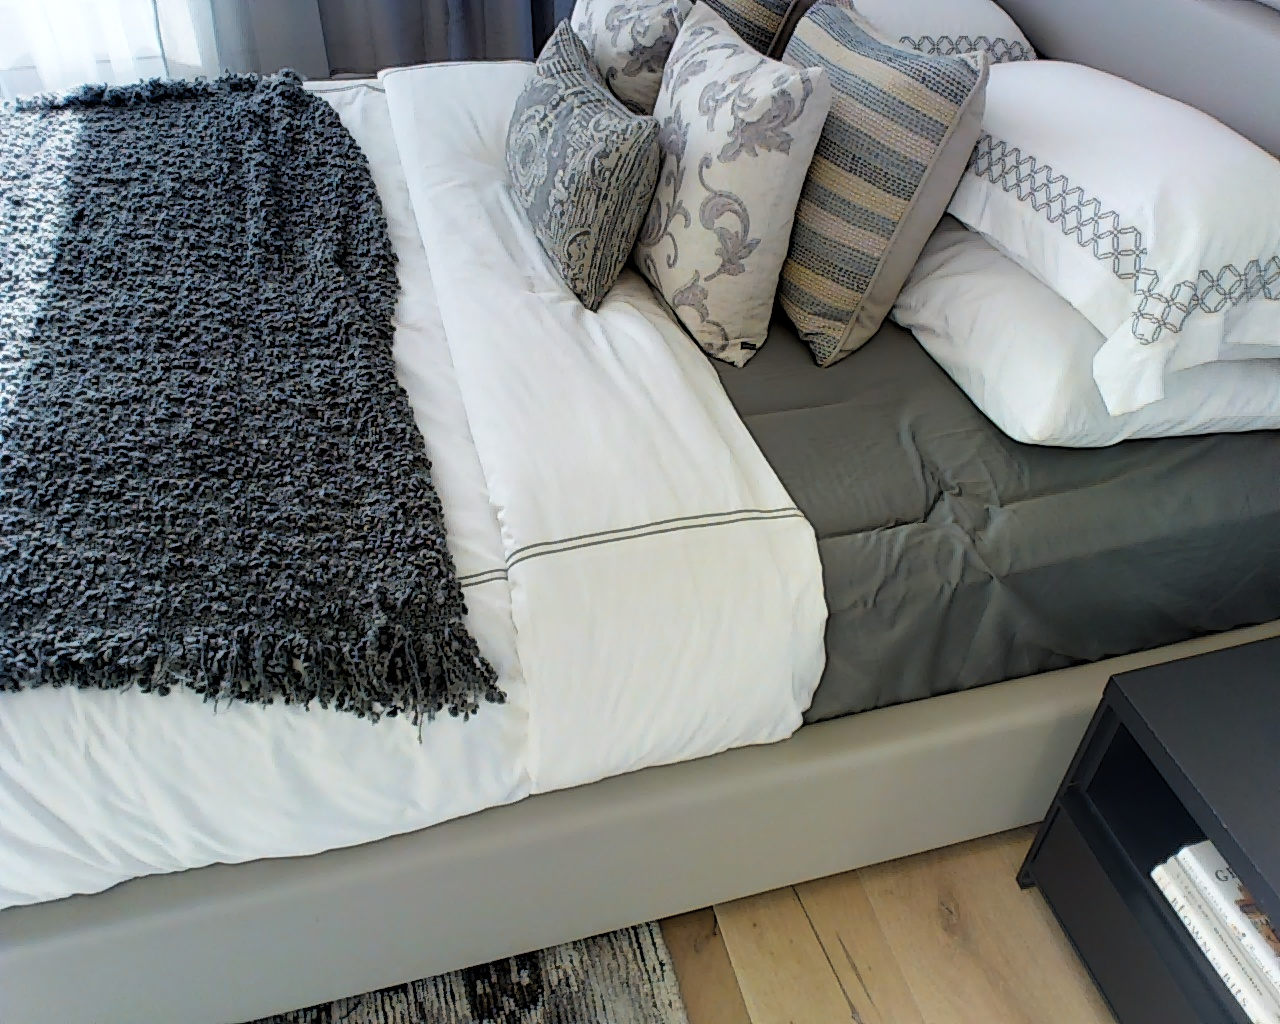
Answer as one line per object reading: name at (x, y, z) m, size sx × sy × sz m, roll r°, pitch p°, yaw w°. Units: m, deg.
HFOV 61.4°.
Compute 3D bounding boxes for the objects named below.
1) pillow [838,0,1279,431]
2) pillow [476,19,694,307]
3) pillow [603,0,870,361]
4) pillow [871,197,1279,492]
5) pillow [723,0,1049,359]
pillow at (0.700, -0.520, 1.630) m, size 0.440 × 0.220 × 0.940 m, roll -9°, pitch 43°, yaw -12°
pillow at (-0.110, -0.620, 1.860) m, size 0.220 × 0.260 × 0.540 m, roll -11°, pitch 43°, yaw -14°
pillow at (0.120, -0.560, 1.720) m, size 0.260 × 0.420 × 0.460 m, roll -9°, pitch 43°, yaw -12°
pillow at (0.700, -0.280, 1.640) m, size 0.510 × 0.140 × 0.500 m, roll -9°, pitch 43°, yaw -12°
pillow at (0.360, -0.610, 1.790) m, size 0.230 × 0.440 × 0.570 m, roll -11°, pitch 43°, yaw -13°
